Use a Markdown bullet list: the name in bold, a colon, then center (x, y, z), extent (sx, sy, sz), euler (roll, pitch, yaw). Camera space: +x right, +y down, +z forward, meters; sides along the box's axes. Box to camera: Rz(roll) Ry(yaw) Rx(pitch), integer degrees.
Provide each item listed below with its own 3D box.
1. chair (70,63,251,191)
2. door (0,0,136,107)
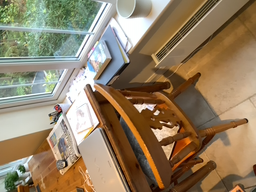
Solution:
- **chair**: center (0.200, 0.150, 1.180), extent (0.460, 0.810, 0.430), euler (55, 133, 23)
- **door**: center (-0.590, -0.320, 0.920), extent (1.580, 1.280, 0.080), euler (-42, 68, 44)
